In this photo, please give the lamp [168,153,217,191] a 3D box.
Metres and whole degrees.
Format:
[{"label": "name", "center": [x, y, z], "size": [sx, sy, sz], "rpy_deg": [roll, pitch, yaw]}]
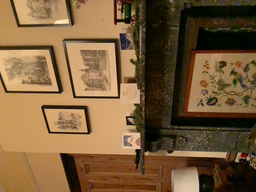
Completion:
[{"label": "lamp", "center": [0.650, 0.870, 2.240], "size": [0.430, 0.390, 0.290], "rpy_deg": [-82, -8, -58]}]
